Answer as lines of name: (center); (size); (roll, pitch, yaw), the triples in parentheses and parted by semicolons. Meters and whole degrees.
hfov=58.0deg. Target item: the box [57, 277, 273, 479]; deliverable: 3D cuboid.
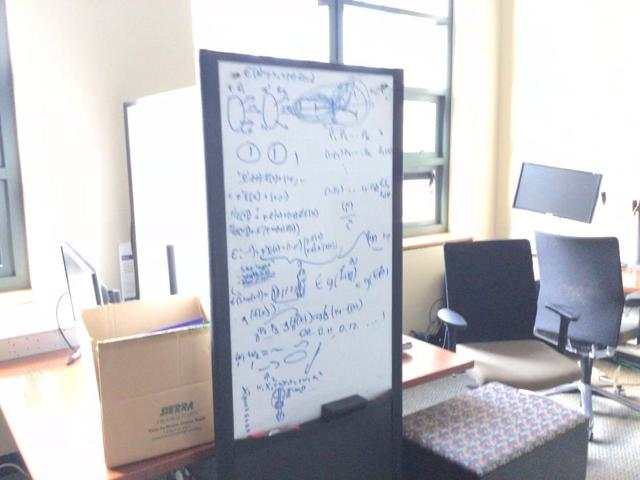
box: (-0.430, 0.330, 1.580); (0.420, 0.350, 0.430); (-8, 8, -34)
